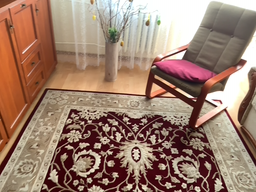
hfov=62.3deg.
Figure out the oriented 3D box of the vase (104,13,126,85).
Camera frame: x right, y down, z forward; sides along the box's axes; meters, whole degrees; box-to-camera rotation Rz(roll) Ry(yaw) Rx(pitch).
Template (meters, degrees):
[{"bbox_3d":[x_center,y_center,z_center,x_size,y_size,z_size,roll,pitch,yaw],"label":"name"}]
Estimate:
[{"bbox_3d":[-0.160,-0.550,2.480,0.210,0.680,0.470,2,35,-5],"label":"vase"}]
